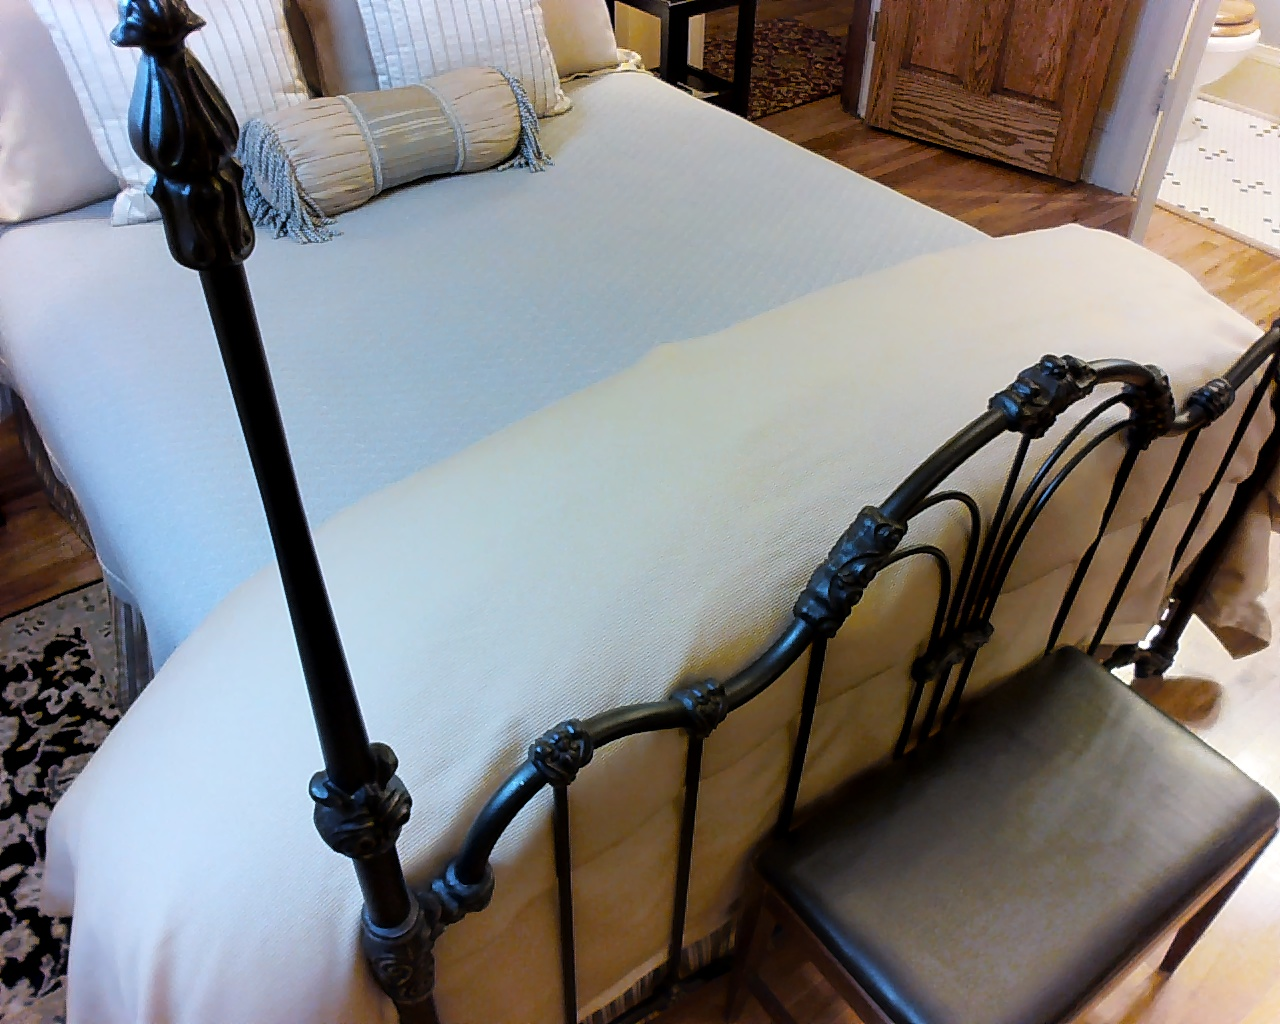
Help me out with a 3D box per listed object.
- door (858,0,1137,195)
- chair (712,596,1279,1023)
[{"bbox_3d":[1.130,-2.000,3.090,0.840,2.060,0.040,29,50,28],"label":"door"},{"bbox_3d":[0.470,0.520,1.440,0.620,0.470,0.390,-25,48,-24],"label":"chair"}]
